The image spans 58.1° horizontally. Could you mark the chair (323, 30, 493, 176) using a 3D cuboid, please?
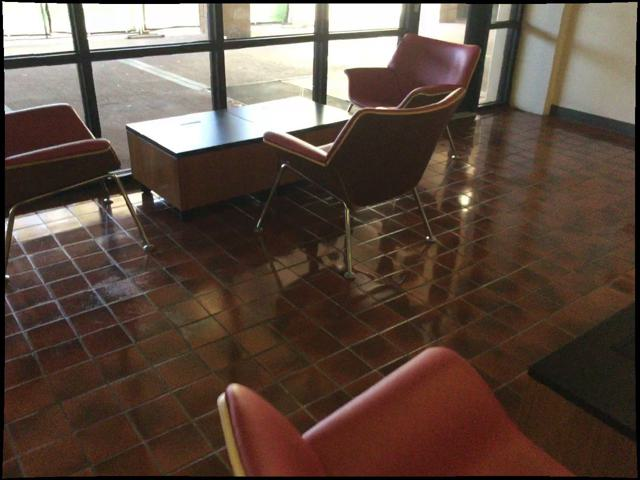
[{"bbox_3d":[0.588,-1.013,4.090,0.769,0.752,0.829,-19,34,-34],"label":"chair"}]

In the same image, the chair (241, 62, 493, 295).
[{"bbox_3d":[0.199,-0.361,2.780,0.839,0.762,0.770,-19,34,-34],"label":"chair"}]

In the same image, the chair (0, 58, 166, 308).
[{"bbox_3d":[-1.386,-0.341,2.720,0.839,0.772,1.039,-19,34,-34],"label":"chair"}]

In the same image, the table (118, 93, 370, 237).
[{"bbox_3d":[-0.429,-0.521,3.510,1.298,0.431,0.720,-19,34,-34],"label":"table"}]
